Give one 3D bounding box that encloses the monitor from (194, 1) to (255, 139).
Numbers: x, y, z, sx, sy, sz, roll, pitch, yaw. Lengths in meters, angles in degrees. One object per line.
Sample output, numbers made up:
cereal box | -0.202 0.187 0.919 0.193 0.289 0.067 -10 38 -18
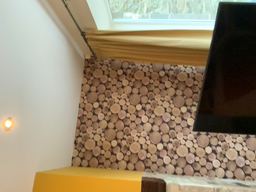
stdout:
monitor | 1.090 -0.130 1.850 0.070 0.800 1.280 -79 -9 -56
